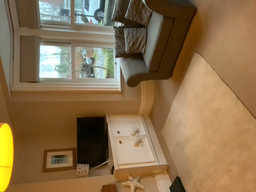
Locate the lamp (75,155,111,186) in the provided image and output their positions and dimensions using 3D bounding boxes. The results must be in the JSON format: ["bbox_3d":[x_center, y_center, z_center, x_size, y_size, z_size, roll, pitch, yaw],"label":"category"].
[{"bbox_3d":[-0.630,1.320,3.760,0.350,0.580,0.320,-107,23,-45],"label":"lamp"}]

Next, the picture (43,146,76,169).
[{"bbox_3d":[-1.280,1.160,4.020,0.420,0.570,0.060,-109,24,-48],"label":"picture"}]
